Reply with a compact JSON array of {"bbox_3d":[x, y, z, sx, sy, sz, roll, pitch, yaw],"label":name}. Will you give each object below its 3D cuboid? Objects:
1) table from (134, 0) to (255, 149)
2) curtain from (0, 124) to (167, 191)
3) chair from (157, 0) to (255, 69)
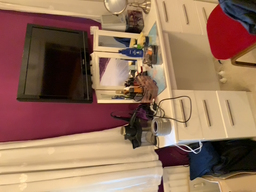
[{"bbox_3d":[0.560,-0.230,1.900,0.430,0.780,1.270,129,137,-65],"label":"table"},{"bbox_3d":[-0.440,0.500,1.550,0.160,1.430,0.500,128,139,-64],"label":"curtain"},{"bbox_3d":[0.700,-0.510,1.360,0.580,0.800,0.460,134,133,-67],"label":"chair"}]
